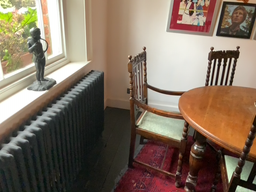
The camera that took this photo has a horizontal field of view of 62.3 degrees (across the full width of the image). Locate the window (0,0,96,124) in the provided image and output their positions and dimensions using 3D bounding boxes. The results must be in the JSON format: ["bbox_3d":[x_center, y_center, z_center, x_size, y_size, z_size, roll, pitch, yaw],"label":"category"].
[{"bbox_3d":[-0.470,-0.760,1.440,0.100,1.450,1.240,8,25,9],"label":"window"}]
